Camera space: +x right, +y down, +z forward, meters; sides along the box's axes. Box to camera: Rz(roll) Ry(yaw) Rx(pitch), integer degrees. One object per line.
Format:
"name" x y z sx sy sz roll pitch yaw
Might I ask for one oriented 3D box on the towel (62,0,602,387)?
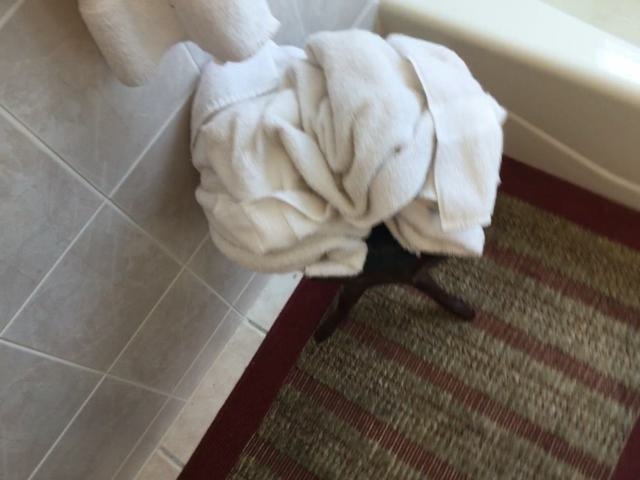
"towel" 0.030 -0.110 0.720 0.400 0.330 0.380 28 76 19
